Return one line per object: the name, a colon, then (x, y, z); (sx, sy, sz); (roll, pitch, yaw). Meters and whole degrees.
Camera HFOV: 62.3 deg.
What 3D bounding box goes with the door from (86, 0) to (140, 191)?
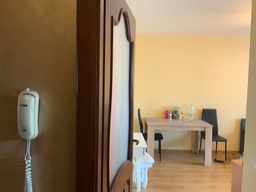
door: (-0.060, 0.470, 1.350); (0.110, 2.000, 0.840); (2, 4, 10)
